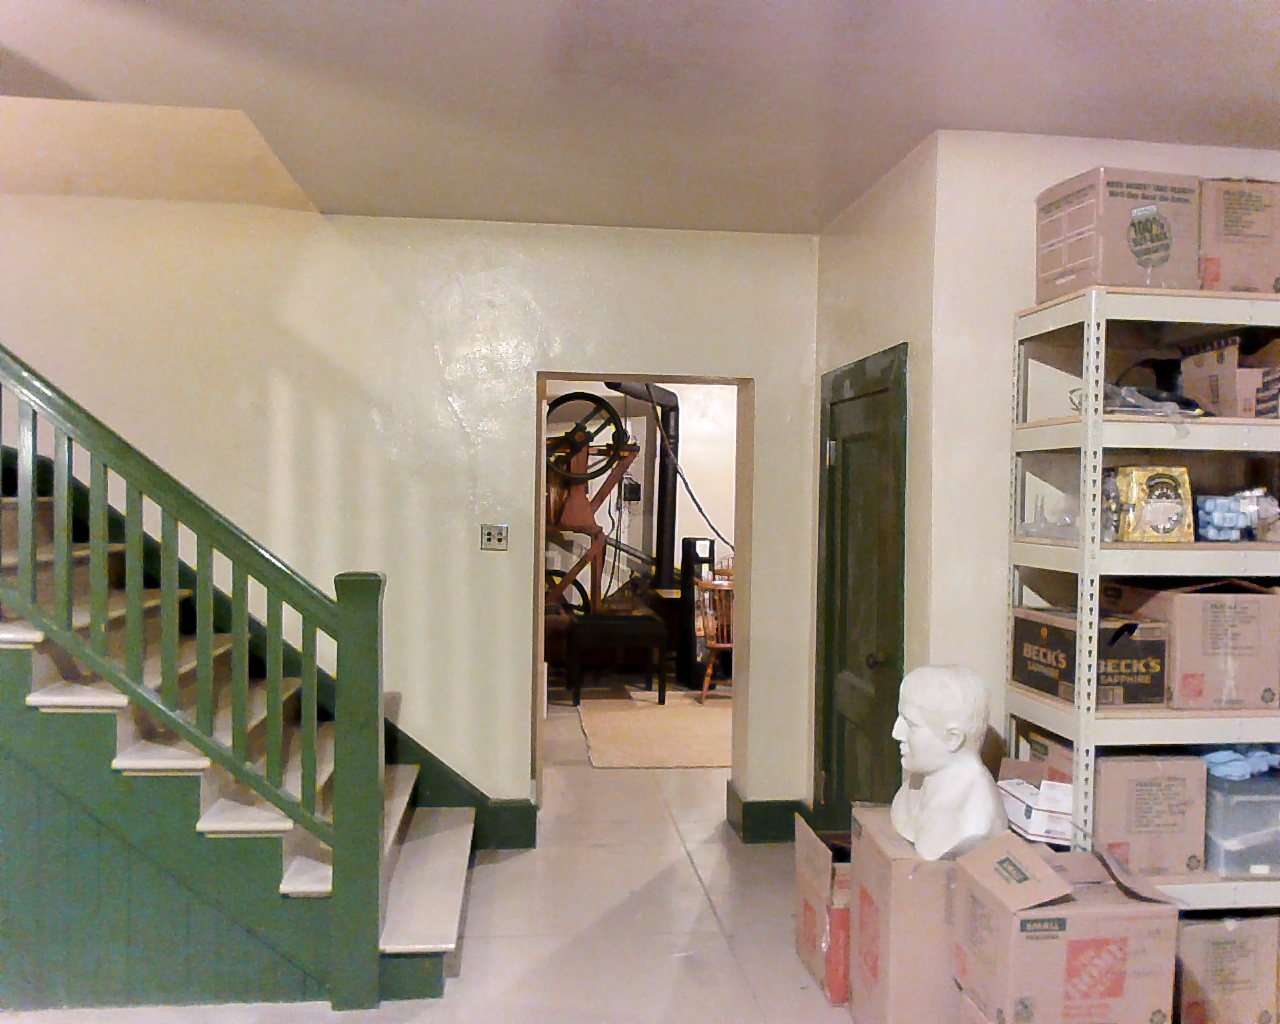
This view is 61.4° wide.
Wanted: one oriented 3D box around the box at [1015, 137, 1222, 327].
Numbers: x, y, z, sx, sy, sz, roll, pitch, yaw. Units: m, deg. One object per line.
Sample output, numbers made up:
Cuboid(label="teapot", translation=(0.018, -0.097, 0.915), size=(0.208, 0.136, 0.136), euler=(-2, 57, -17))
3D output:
Cuboid(label="box", translation=(1.350, -0.780, 3.080), size=(0.370, 0.420, 0.420), euler=(1, 1, -6))

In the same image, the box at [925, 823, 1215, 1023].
Cuboid(label="box", translation=(1.030, 1.190, 2.660), size=(0.480, 0.690, 0.490), euler=(1, 1, -6))

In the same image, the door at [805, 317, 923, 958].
Cuboid(label="door", translation=(0.840, 0.420, 4.190), size=(0.060, 2.160, 1.130), euler=(1, 1, -6))
